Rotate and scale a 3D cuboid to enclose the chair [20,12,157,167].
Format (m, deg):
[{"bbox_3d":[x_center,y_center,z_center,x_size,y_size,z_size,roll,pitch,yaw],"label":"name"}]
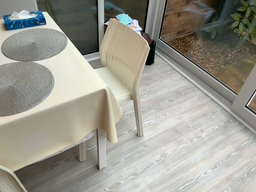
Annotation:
[{"bbox_3d":[-0.260,-0.050,1.490,0.600,0.790,0.530,-23,51,-27],"label":"chair"}]
